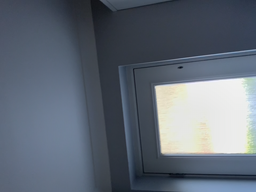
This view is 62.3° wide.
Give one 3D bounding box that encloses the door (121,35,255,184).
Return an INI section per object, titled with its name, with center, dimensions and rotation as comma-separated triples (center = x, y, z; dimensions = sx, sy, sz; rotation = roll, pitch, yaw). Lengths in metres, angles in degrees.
[door]
center = 1.010, 0.080, 1.400
dimensions = 0.120, 2.090, 0.980
rotation = -11, -84, -75
